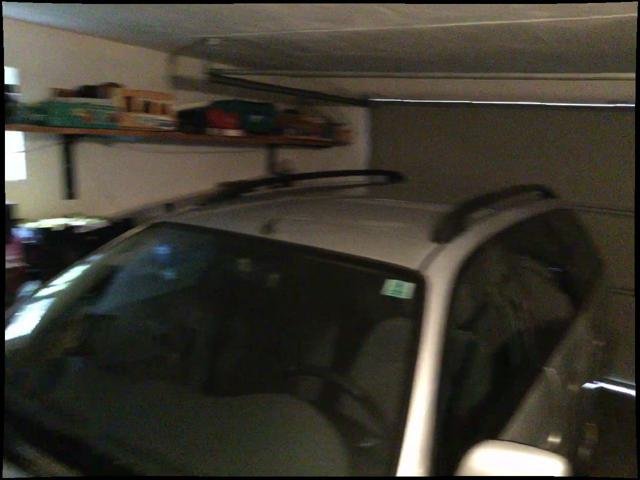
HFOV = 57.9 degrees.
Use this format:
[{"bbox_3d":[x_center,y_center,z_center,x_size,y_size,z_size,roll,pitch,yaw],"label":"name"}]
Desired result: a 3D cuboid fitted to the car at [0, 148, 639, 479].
[{"bbox_3d":[-0.160,0.511,1.930,2.019,1.481,3.979,11,14,35],"label":"car"}]
